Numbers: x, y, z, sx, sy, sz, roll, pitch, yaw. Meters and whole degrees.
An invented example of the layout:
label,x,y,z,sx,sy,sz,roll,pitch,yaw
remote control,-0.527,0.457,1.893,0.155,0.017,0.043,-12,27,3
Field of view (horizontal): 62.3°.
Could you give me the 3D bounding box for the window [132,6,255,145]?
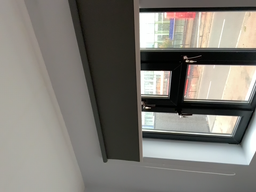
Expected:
label,x,y,z,sx,sy,sz,roll,pitch,yaw
window,0.610,-0.080,1.900,0.060,1.120,1.360,-77,-12,-53
